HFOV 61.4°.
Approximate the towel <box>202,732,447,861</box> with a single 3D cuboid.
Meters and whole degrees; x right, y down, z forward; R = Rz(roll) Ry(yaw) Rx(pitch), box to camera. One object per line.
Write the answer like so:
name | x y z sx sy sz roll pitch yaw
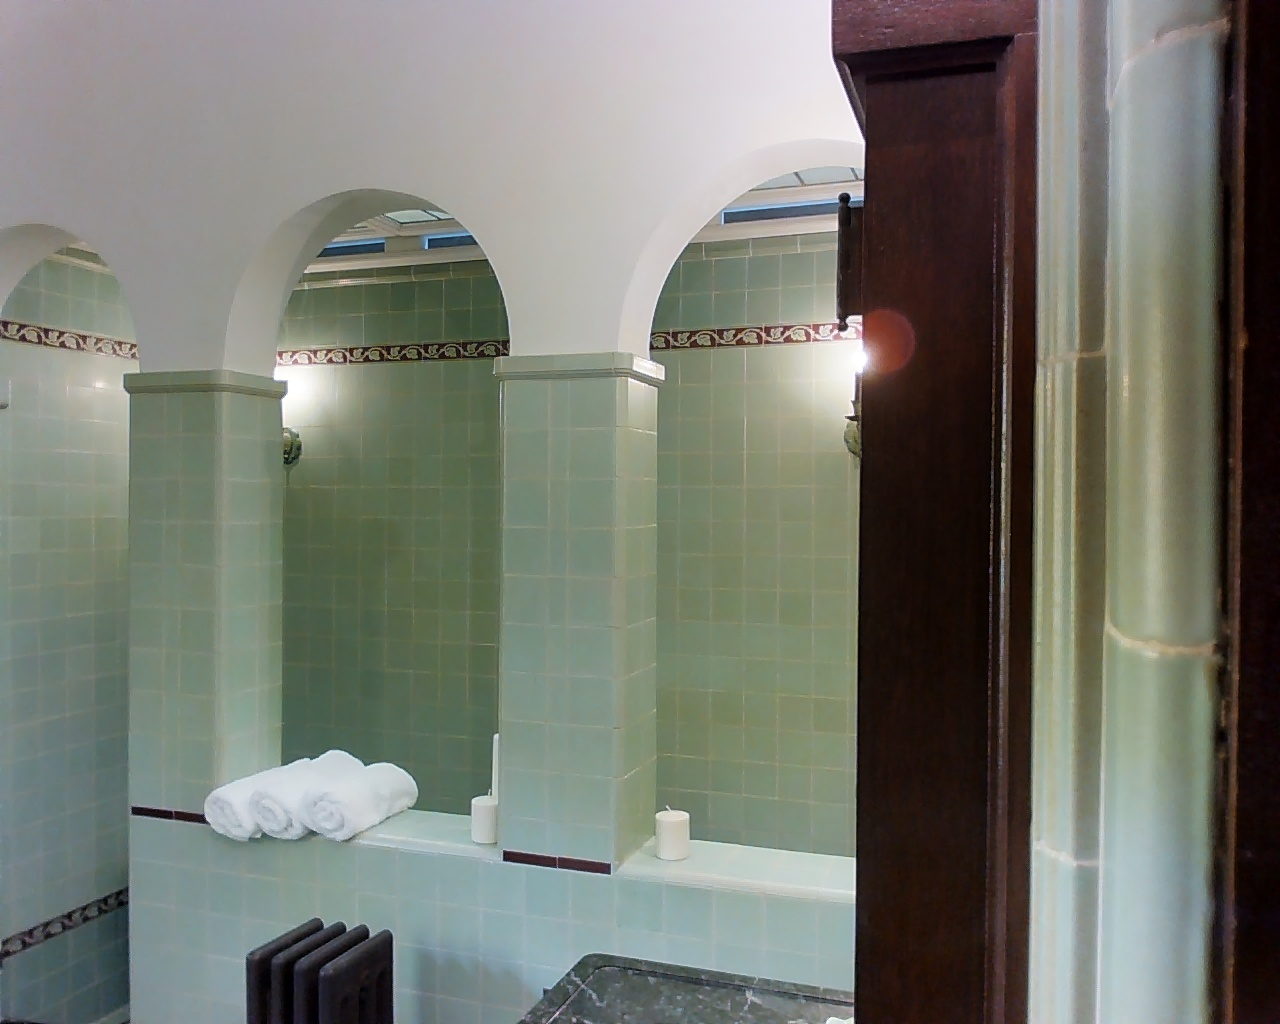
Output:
towel | -0.790 0.710 2.750 0.430 0.180 0.430 0 1 19
